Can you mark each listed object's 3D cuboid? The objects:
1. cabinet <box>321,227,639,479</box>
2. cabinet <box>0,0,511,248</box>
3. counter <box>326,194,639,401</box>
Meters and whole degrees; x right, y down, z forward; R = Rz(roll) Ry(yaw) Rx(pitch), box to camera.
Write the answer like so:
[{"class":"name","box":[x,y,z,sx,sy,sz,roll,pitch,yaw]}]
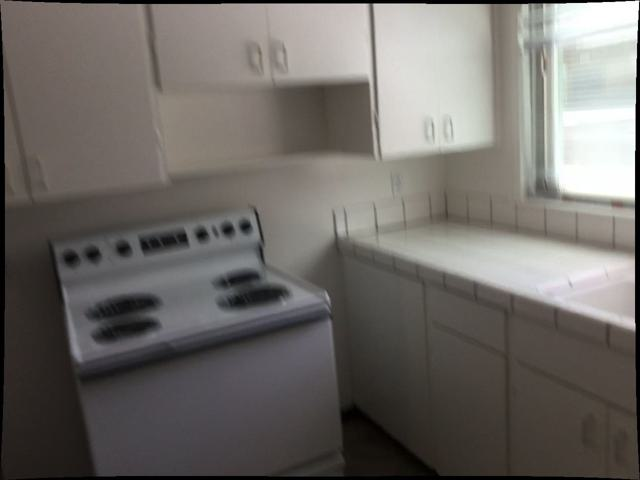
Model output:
[{"class":"cabinet","box":[0.579,0.601,1.810,0.130,0.921,2.089,-13,17,-24]},{"class":"cabinet","box":[-0.749,-0.691,1.810,3.086,1.232,0.500,-13,17,-24]},{"class":"counter","box":[0.799,0.130,1.820,0.639,0.170,2.119,-13,17,-24]}]
